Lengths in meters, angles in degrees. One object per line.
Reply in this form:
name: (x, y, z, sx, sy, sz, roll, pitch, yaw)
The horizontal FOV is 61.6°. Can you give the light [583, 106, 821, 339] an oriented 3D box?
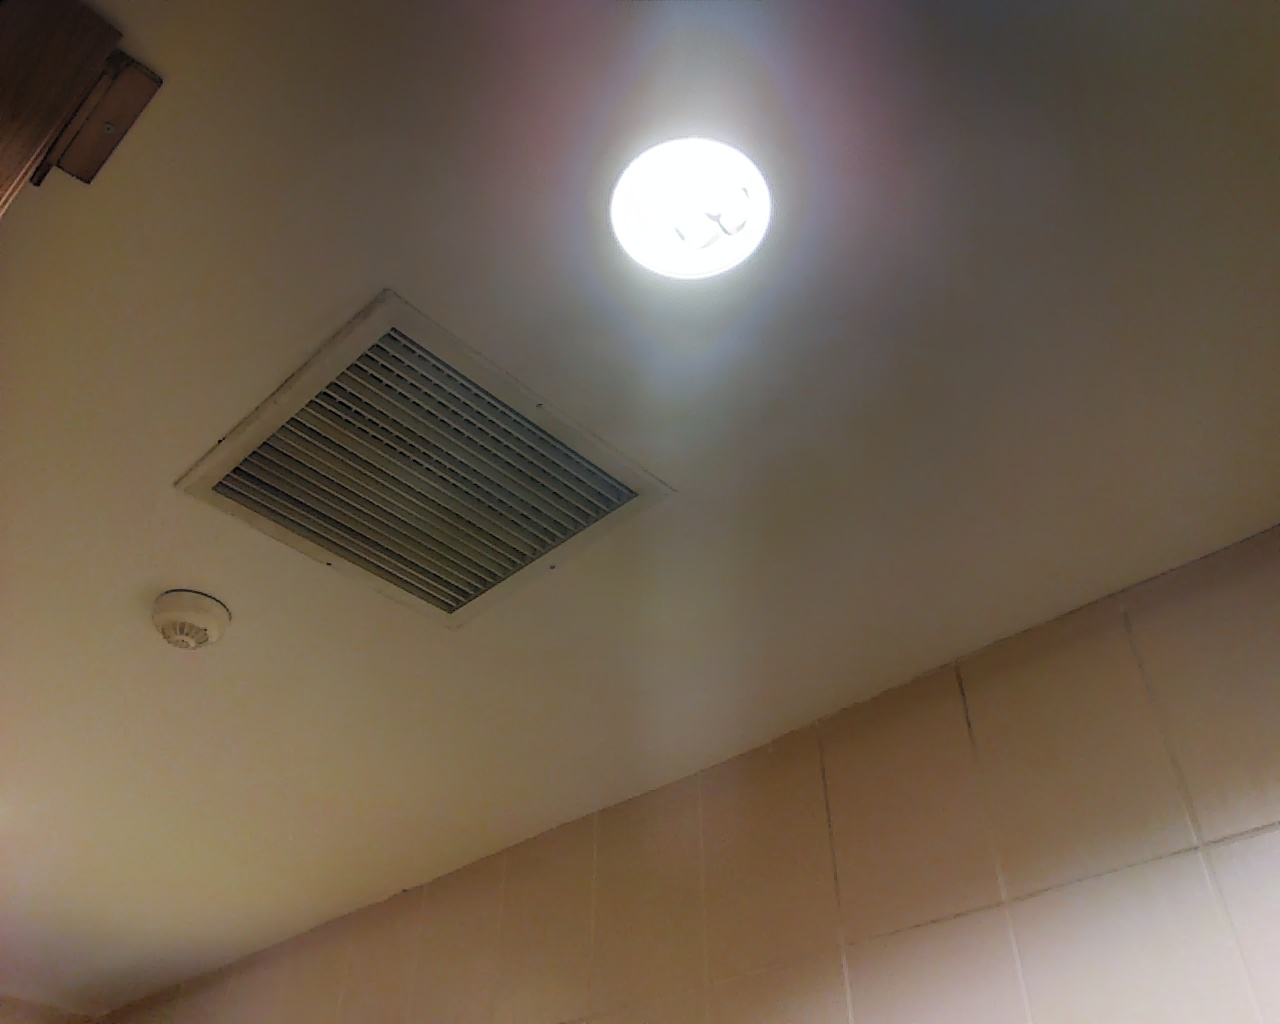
light: (0.060, -0.270, 1.030, 0.150, 0.050, 0.170, -30, -50, 31)
